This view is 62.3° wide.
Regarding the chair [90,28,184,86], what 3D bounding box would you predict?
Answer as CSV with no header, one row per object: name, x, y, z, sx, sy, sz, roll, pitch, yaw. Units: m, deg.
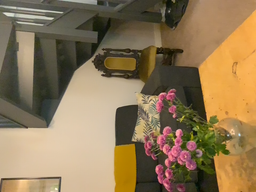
chair,0.070,-0.470,2.860,0.710,1.120,0.510,152,120,-78

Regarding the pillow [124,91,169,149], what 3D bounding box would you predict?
pillow,0.200,0.260,2.340,0.310,0.160,0.550,19,93,36

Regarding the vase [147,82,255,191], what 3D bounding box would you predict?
vase,0.360,0.260,0.780,0.480,0.450,0.470,126,145,-71
